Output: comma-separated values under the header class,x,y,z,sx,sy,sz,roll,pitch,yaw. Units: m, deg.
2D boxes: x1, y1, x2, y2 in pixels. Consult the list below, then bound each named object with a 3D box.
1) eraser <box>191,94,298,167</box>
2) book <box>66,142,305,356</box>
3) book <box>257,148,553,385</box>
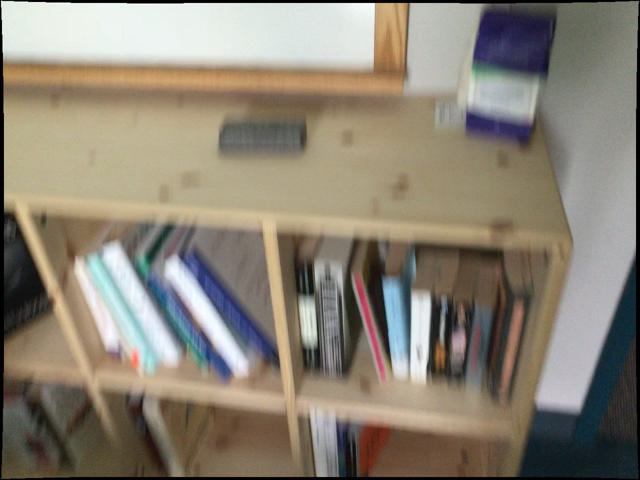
class,x,y,z,sx,sy,sz,roll,pitch,yaw
eraser,-0.110,-0.170,0.880,0.130,0.050,0.130,3,39,8
book,-0.209,0.000,1.050,0.299,0.200,0.340,3,39,8
book,0.140,0.030,1.000,0.409,0.230,0.320,3,39,8
